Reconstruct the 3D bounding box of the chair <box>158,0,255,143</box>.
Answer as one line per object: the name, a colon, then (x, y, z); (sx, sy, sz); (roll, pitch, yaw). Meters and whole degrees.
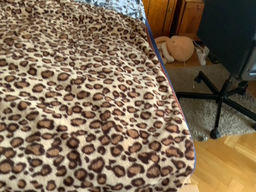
chair: (0.730, -0.390, 1.360); (0.690, 1.210, 0.740); (-3, 44, -11)
